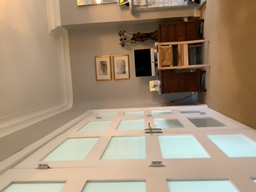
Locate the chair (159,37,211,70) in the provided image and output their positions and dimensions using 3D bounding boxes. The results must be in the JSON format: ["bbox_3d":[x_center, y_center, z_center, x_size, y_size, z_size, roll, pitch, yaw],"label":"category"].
[{"bbox_3d":[0.910,-0.680,3.490,0.420,0.740,0.400,16,-108,-86],"label":"chair"}]
